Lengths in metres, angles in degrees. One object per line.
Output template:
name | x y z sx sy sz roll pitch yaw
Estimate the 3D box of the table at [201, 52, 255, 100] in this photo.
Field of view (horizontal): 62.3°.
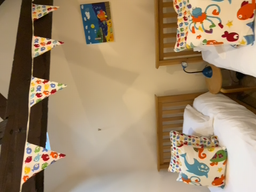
table | 1.130 -0.240 2.350 0.410 0.460 0.420 -109 15 -72
